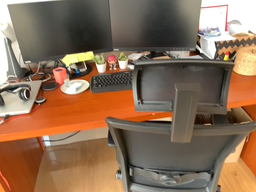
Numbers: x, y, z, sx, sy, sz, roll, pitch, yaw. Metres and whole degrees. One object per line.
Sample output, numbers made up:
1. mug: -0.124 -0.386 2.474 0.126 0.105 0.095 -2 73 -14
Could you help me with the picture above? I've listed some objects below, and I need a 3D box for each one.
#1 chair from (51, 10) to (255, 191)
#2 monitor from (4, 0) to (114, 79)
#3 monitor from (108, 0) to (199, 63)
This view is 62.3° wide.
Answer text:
1. chair: 0.230 0.240 1.050 0.700 1.100 0.750 0 32 5
2. monitor: -0.370 -0.350 1.280 0.550 0.410 0.050 -13 33 -16
3. monitor: 0.150 -0.400 1.330 0.520 0.390 0.050 2 32 7
